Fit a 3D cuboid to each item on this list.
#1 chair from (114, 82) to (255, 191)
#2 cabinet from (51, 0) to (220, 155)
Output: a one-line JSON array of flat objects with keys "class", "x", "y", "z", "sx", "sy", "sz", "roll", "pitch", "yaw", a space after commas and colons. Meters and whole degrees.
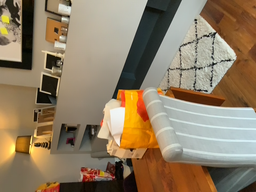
[{"class": "chair", "x": 0.530, "y": 0.370, "z": 1.380, "sx": 0.620, "sy": 1.050, "sz": 0.500, "roll": 116, "pitch": 151, "yaw": -42}, {"class": "cabinet", "x": 0.020, "y": -0.640, "z": 2.690, "sx": 0.320, "sy": 1.470, "sz": 4.740, "roll": -105, "pitch": 29, "yaw": -43}]
